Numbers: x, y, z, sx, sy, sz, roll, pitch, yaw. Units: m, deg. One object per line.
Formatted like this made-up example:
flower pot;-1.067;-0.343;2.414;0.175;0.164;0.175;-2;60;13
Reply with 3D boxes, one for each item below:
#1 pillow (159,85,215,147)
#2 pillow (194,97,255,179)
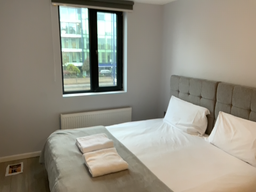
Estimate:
pillow;0.800;0.260;3.020;0.180;0.470;0.790;-4;36;-28
pillow;1.130;0.400;2.270;0.220;0.450;0.790;-5;29;-29
